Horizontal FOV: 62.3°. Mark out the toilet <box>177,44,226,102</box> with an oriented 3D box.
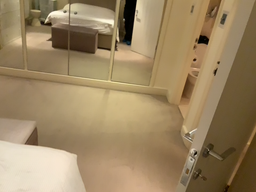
[{"bbox_3d":[1.190,-0.410,3.590,0.410,0.740,0.660,8,27,-4],"label":"toilet"}]
